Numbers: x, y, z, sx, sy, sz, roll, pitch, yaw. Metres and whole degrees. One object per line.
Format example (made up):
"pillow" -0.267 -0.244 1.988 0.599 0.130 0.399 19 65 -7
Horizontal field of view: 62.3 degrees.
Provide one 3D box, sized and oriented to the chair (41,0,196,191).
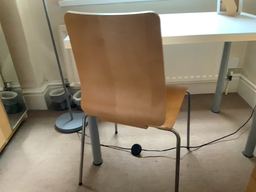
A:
"chair" 0.040 0.030 0.990 0.420 0.830 0.510 7 31 18
